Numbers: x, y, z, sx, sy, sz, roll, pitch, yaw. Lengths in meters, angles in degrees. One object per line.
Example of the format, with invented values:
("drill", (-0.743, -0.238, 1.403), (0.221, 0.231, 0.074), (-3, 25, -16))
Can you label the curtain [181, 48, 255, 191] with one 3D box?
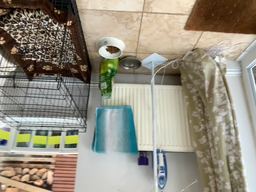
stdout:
("curtain", (0.670, 0.710, 1.510), (0.330, 2.270, 0.330), (2, 158, -1))
